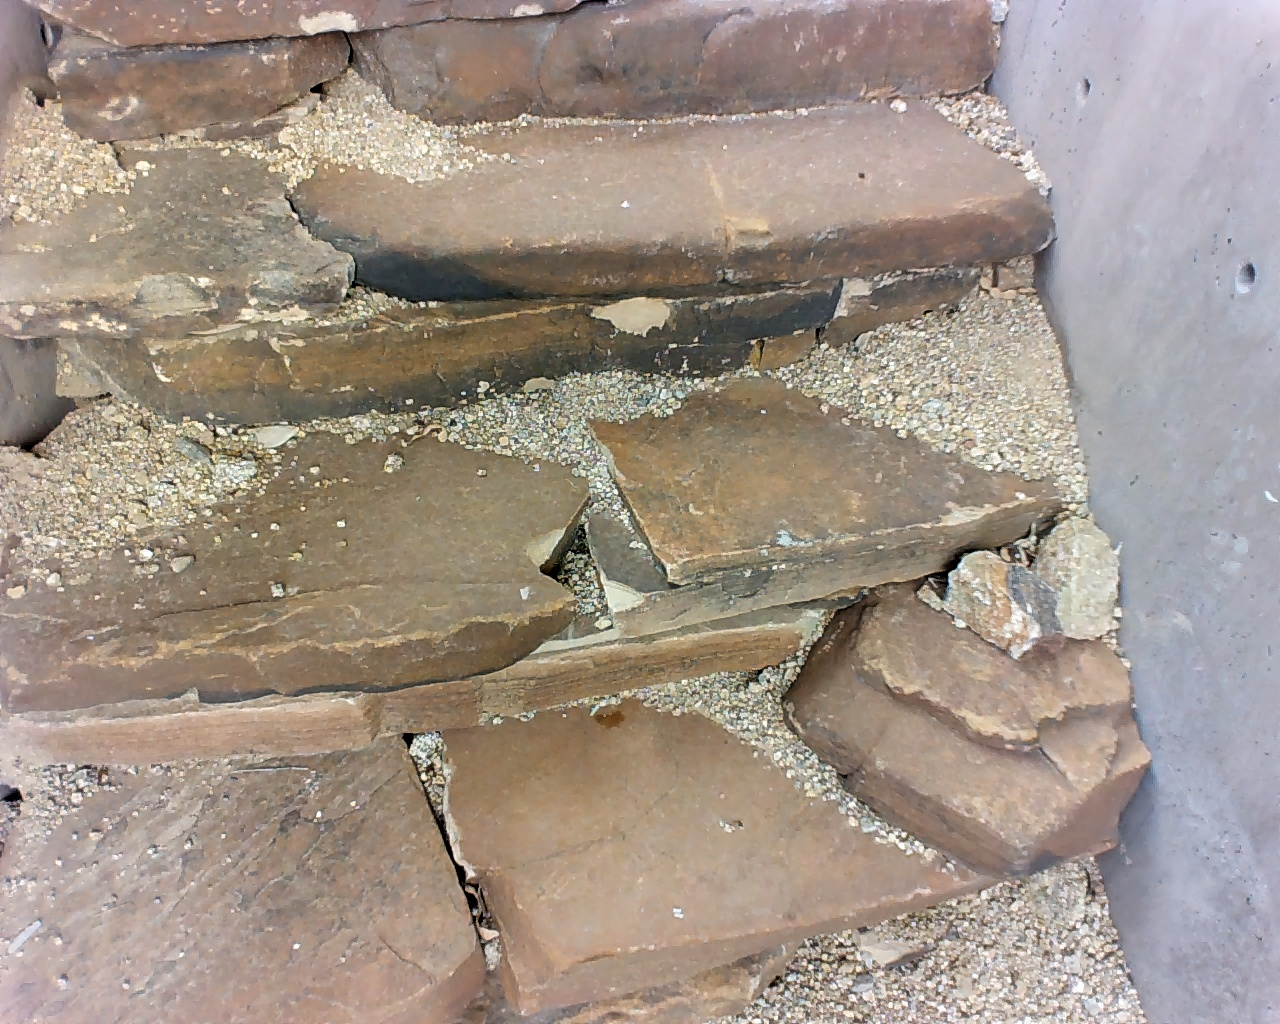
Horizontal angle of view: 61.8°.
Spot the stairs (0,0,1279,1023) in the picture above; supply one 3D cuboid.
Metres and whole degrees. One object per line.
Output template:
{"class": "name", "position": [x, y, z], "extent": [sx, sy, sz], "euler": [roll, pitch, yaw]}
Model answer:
{"class": "stairs", "position": [0.140, -0.340, 1.310], "extent": [1.510, 0.810, 3.830], "euler": [-5, 13, -2]}
